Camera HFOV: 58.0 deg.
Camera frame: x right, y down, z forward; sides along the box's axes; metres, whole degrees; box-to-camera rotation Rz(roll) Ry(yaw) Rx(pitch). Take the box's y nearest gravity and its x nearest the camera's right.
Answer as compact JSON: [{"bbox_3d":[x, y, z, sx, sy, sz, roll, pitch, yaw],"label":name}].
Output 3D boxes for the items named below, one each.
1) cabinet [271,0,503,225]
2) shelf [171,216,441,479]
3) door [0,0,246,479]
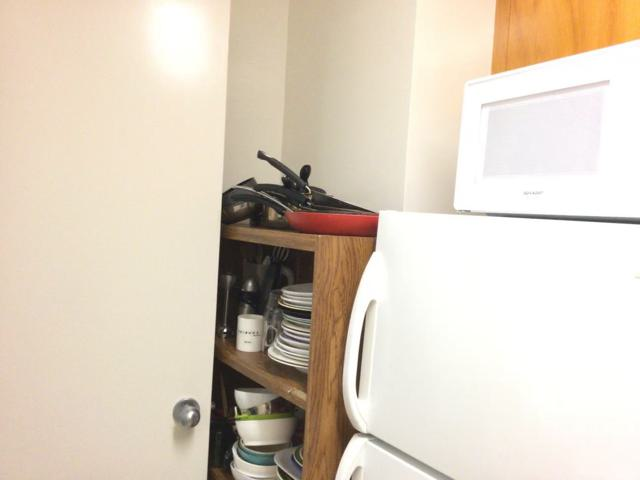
[{"bbox_3d":[0.170,-0.520,1.780,0.320,0.910,0.690,0,4,-33],"label":"cabinet"},{"bbox_3d":[-0.110,0.690,1.630,0.370,1.480,0.780,0,4,-33],"label":"shelf"},{"bbox_3d":[-0.750,0.380,1.460,1.050,2.090,0.150,1,4,-22],"label":"door"}]
